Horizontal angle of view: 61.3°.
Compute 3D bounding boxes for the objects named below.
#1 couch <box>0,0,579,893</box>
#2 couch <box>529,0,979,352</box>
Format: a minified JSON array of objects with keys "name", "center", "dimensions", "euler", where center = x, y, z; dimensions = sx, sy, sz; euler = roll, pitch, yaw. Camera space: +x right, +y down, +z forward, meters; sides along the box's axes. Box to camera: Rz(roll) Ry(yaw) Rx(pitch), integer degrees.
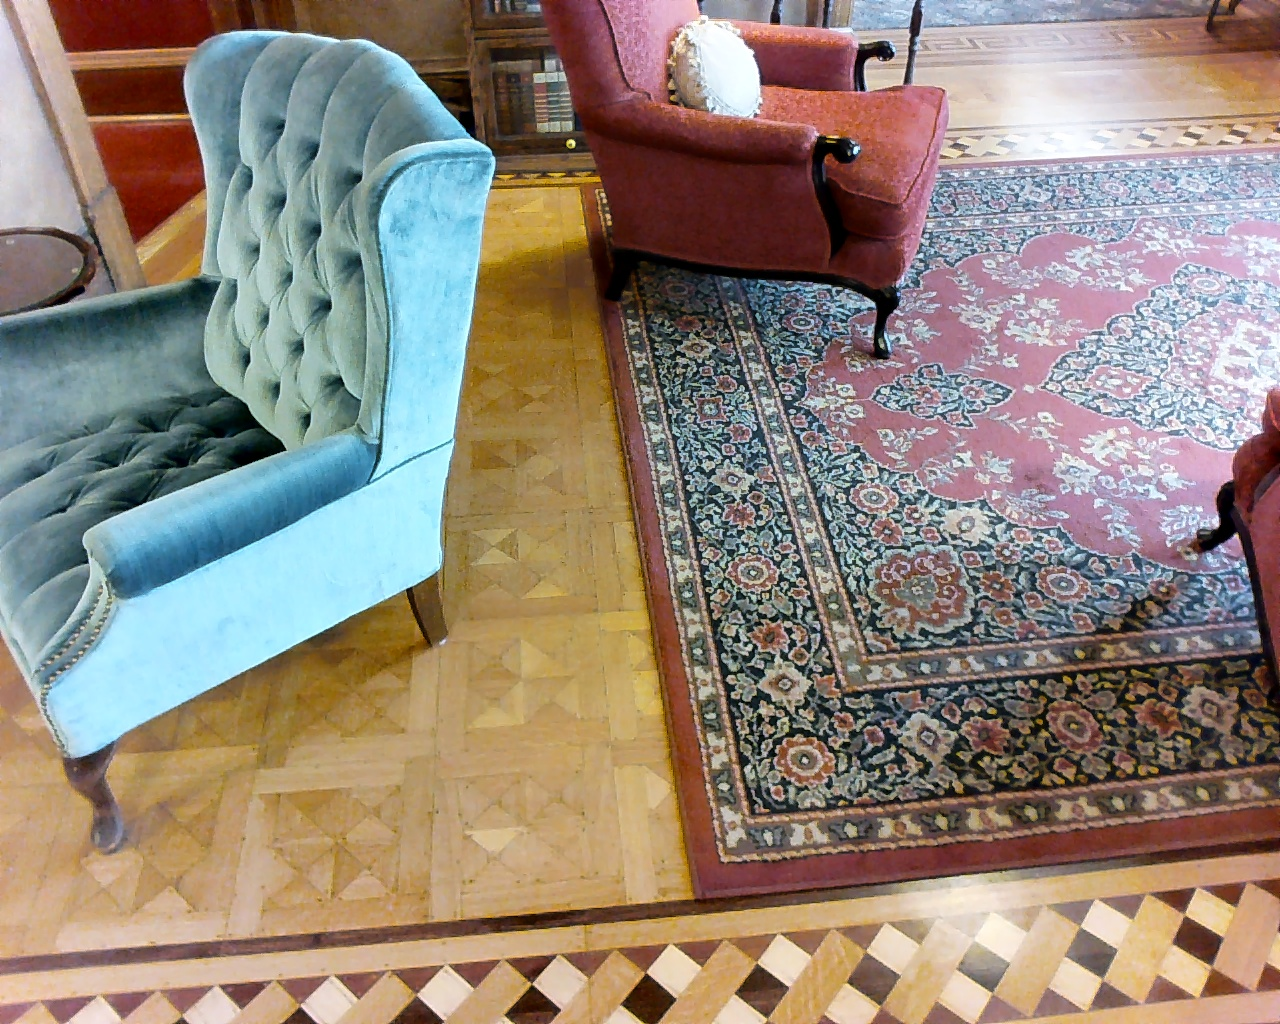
[{"name":"couch","center":[-0.700,-0.160,1.770],"dimensions":[0.880,0.990,0.760],"euler":[-30,50,-29]},{"name":"couch","center":[0.320,-1.050,2.790],"dimensions":[0.930,0.810,0.790],"euler":[13,44,14]}]
